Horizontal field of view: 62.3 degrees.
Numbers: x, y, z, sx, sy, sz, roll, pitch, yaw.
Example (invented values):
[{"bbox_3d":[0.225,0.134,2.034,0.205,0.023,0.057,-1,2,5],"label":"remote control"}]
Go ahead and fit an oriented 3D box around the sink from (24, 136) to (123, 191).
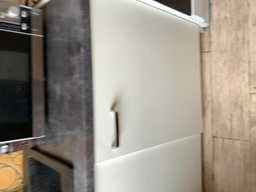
[{"bbox_3d":[-0.260,0.410,0.930,0.470,0.210,0.370,0,91,46],"label":"sink"}]
